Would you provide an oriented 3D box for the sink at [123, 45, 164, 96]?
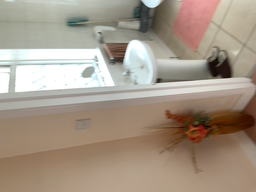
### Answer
[{"bbox_3d":[0.130,-0.250,2.030,0.420,0.180,0.290,-117,30,-43],"label":"sink"}]
